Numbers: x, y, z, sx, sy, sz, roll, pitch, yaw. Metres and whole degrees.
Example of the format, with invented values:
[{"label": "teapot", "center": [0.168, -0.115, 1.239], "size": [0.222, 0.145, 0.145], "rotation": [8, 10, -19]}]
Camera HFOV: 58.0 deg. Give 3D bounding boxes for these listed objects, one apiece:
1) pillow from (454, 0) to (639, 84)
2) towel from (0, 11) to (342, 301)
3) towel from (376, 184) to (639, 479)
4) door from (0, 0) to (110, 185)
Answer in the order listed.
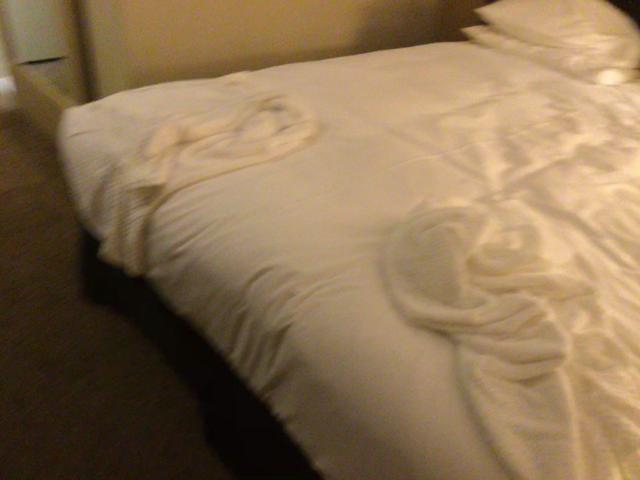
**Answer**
[{"label": "pillow", "center": [0.900, -0.840, 2.200], "size": [0.400, 0.240, 0.610], "rotation": [-22, 44, -36]}, {"label": "towel", "center": [-0.350, -0.240, 1.370], "size": [0.600, 0.190, 0.500], "rotation": [-41, 53, -17]}, {"label": "towel", "center": [0.300, 0.180, 0.850], "size": [0.330, 0.150, 0.680], "rotation": [-11, 34, 4]}, {"label": "door", "center": [-1.190, -1.050, 2.290], "size": [0.150, 1.360, 1.010], "rotation": [-22, 44, -36]}]
